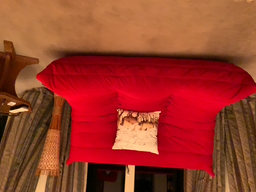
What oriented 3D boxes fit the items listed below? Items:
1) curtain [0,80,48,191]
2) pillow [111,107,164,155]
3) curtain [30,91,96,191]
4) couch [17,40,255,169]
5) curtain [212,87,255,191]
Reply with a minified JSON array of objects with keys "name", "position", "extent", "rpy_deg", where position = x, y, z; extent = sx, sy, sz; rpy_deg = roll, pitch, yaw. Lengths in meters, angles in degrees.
[{"name":"curtain","position":[-1.270,0.800,2.280],"extent":[0.410,1.960,0.270],"rpy_deg":[8,157,-13]},{"name":"pillow","position":[0.090,0.340,2.100],"extent":[0.460,0.380,0.130],"rpy_deg":[8,-176,3]},{"name":"curtain","position":[-0.740,0.890,2.360],"extent":[0.530,1.940,0.240],"rpy_deg":[3,158,0]},{"name":"couch","position":[0.120,0.170,1.980],"extent":[1.610,0.830,1.050],"rpy_deg":[2,158,2]},{"name":"curtain","position":[1.200,0.870,2.110],"extent":[0.240,1.890,0.430],"rpy_deg":[23,151,-40]}]
